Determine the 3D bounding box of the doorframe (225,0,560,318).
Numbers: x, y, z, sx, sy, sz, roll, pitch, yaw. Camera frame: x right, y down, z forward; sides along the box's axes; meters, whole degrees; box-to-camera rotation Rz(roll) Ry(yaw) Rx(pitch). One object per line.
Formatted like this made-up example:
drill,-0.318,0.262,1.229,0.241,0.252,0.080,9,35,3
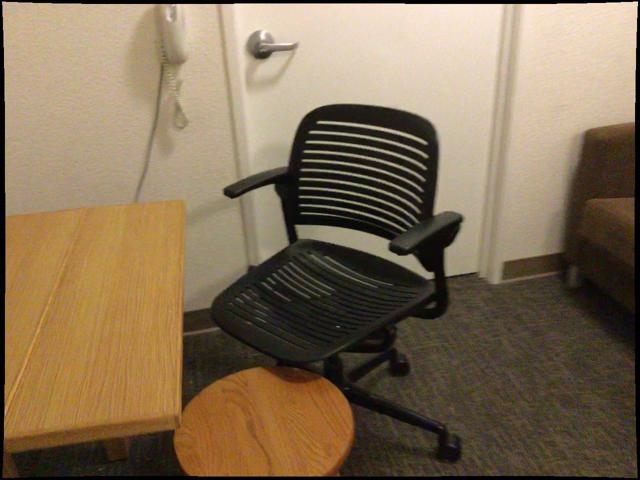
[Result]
doorframe,0.240,-0.501,1.960,1.039,1.571,0.190,-7,30,-9
